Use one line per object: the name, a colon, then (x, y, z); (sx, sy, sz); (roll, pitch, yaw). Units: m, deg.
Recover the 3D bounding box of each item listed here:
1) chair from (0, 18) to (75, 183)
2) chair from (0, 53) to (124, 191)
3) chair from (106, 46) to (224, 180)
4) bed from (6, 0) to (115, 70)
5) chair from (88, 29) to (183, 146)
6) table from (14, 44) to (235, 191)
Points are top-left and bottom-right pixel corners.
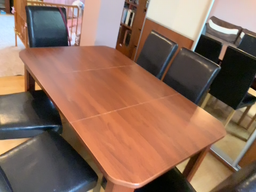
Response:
chair: (-0.790, 0.050, 1.480); (0.600, 1.010, 0.500); (-4, 36, -30)
chair: (-0.500, 0.380, 1.080); (0.470, 1.010, 0.600); (33, 34, 27)
chair: (0.260, 0.130, 1.830); (0.600, 1.010, 0.420); (-10, 39, -37)
bed: (-1.070, -1.050, 3.370); (1.390, 0.960, 0.730); (-9, 38, -35)
chair: (0.030, -0.080, 2.080); (0.590, 1.000, 0.390); (-10, 39, -37)
table: (-0.180, 0.230, 1.710); (0.960, 0.770, 1.420); (-12, 40, -39)
